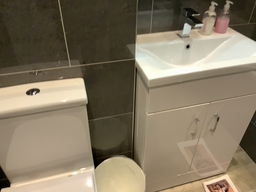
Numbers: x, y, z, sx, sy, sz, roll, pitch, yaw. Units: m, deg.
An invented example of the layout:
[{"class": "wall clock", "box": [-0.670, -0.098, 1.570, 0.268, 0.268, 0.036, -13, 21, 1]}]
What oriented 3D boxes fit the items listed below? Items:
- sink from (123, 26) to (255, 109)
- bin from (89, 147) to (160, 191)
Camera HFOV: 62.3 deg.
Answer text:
[{"class": "sink", "box": [0.330, -0.170, 1.020, 0.630, 0.160, 0.390, -8, 39, -13]}, {"class": "bin", "box": [-0.030, 0.510, 1.160, 0.300, 0.260, 0.290, -10, 39, -14]}]
